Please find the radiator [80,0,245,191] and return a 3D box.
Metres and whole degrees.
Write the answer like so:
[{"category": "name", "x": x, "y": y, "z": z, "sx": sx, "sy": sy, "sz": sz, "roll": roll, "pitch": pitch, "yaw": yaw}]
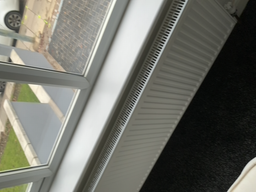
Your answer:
[{"category": "radiator", "x": 0.160, "y": 0.160, "z": 1.250, "sx": 0.090, "sy": 0.610, "sz": 1.430, "roll": 39, "pitch": 111, "yaw": 37}]
